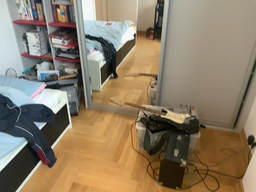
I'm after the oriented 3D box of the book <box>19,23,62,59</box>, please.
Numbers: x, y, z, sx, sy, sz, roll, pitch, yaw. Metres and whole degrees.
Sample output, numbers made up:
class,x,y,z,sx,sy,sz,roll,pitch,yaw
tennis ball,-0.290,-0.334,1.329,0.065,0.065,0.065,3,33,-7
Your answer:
class,x,y,z,sx,sy,sz,roll,pitch,yaw
book,-1.150,-0.740,2.830,0.290,0.340,0.420,8,32,13

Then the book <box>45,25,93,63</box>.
class,x,y,z,sx,sy,sz,roll,pitch,yaw
book,-0.740,-0.680,2.740,0.410,0.340,0.420,8,32,11

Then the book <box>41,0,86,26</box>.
class,x,y,z,sx,sy,sz,roll,pitch,yaw
book,-0.770,-1.050,2.560,0.440,0.320,0.230,10,32,15
